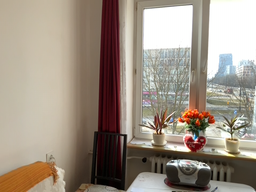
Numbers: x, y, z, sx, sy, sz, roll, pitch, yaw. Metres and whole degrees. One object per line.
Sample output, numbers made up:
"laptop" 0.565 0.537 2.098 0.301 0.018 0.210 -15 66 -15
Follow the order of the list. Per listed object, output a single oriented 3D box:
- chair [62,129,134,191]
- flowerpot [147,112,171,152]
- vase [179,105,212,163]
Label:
"chair" -0.240 0.860 1.920 0.450 0.990 0.530 2 5 18
"flowerpot" 0.360 0.400 2.440 0.210 0.390 0.280 3 5 19
"vase" 0.710 0.380 2.240 0.290 0.520 0.270 3 5 19
